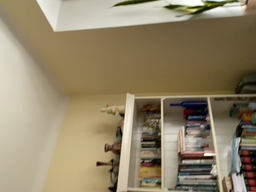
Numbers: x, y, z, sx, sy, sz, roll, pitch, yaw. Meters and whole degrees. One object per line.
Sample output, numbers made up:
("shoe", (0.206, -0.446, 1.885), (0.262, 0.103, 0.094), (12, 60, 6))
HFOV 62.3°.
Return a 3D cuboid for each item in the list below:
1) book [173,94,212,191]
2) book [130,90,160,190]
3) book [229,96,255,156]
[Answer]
("book", (0.590, 0.440, 2.060), (0.310, 0.280, 0.890), (73, -160, -56))
("book", (0.200, 0.410, 2.180), (0.300, 0.230, 0.960), (75, -162, -53))
("book", (1.160, 0.280, 1.990), (0.320, 0.260, 0.460), (75, -162, -52))
